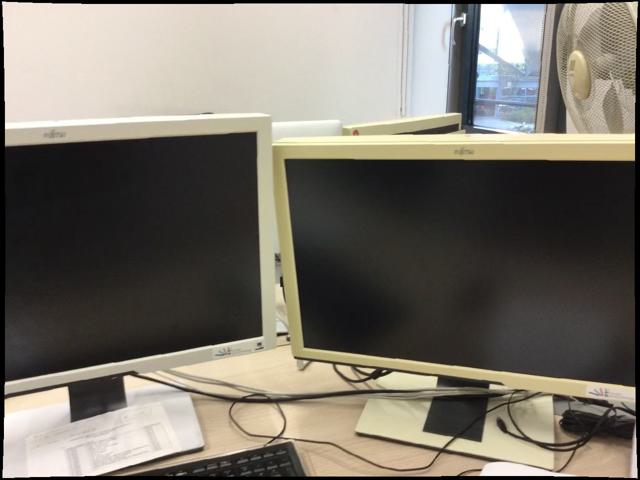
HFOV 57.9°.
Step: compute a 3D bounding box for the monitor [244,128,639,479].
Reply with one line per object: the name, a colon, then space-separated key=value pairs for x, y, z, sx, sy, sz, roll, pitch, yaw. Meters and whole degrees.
monitor: x=0.230 y=0.080 z=0.900 sx=0.589 sy=0.460 sz=0.300 roll=3 pitch=19 yaw=16
